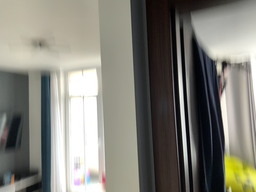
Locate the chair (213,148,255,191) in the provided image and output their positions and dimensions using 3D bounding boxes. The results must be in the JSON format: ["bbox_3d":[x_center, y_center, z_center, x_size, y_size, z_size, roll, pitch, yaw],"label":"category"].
[{"bbox_3d":[2.160,1.460,3.990,0.930,0.750,0.900,-4,-5,27],"label":"chair"}]
